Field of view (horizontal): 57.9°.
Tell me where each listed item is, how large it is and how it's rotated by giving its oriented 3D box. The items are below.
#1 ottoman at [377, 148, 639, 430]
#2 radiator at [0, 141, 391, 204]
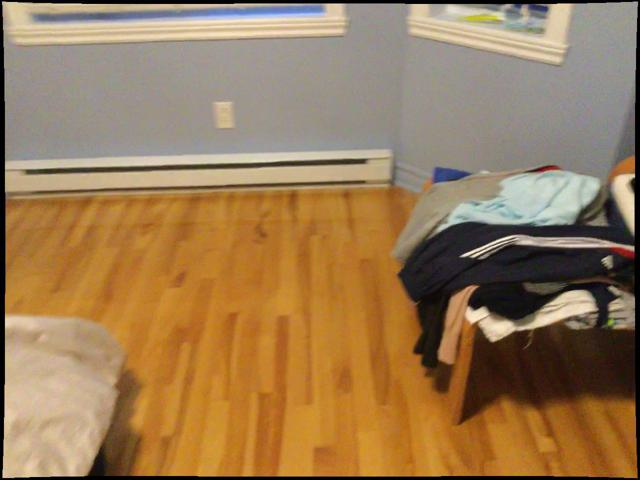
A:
[{"bbox_3d":[0.539,0.100,1.660,0.679,0.430,0.710,-2,34,1],"label":"ottoman"},{"bbox_3d":[-0.529,-0.290,2.500,1.658,0.190,0.090,-2,34,1],"label":"radiator"}]
